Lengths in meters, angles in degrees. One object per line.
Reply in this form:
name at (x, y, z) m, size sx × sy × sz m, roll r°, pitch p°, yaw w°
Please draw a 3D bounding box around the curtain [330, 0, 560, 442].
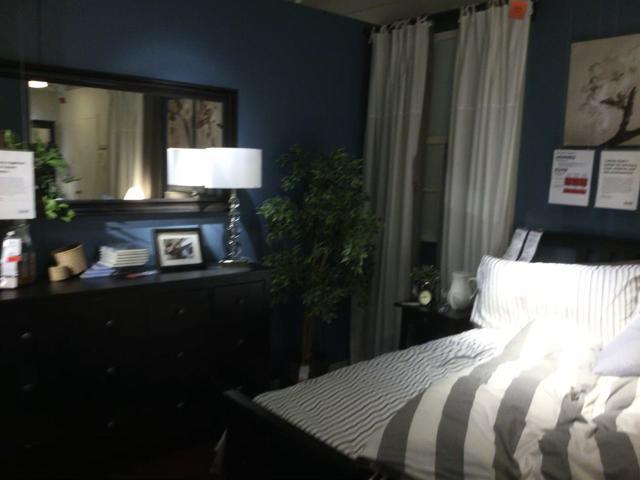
curtain at (0.710, -0.220, 3.650) m, size 0.380 × 2.460 × 1.520 m, roll -6°, pitch 6°, yaw -34°
